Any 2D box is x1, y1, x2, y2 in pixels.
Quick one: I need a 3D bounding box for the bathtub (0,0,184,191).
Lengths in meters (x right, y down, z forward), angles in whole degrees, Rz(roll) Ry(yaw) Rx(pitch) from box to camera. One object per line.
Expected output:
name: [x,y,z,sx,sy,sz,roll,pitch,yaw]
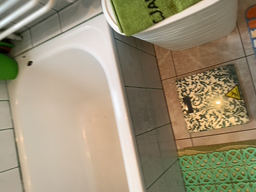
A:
bathtub: [-0.130,0.450,1.120,0.680,0.480,1.660,-15,84,27]
